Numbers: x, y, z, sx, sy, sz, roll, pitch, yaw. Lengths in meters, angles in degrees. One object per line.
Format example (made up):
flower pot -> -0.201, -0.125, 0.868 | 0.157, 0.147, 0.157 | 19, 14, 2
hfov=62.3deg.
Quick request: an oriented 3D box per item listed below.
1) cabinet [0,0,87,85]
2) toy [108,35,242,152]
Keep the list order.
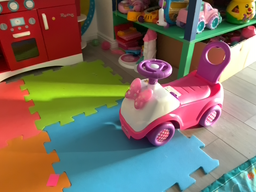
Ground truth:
cabinet -> -0.760, -0.420, 1.430 | 0.840, 0.500, 0.340 | -20, 40, -26
toy -> 0.200, -0.030, 0.990 | 0.530, 0.370, 0.210 | -16, 39, -22
